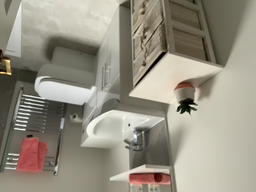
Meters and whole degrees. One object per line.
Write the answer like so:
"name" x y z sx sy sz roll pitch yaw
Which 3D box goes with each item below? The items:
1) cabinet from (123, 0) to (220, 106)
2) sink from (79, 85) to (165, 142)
"cabinet" 0.190 -0.420 1.270 0.280 0.830 0.430 10 151 -22
"sink" -0.080 0.160 1.510 0.400 0.150 0.600 10 151 -22
